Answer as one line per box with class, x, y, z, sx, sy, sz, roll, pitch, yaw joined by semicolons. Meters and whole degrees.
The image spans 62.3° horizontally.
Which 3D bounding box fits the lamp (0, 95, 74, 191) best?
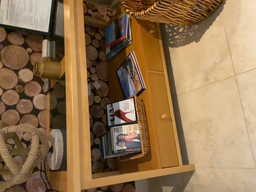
lamp;-0.600;0.230;0.900;0.390;0.610;0.370;-28;63;51
